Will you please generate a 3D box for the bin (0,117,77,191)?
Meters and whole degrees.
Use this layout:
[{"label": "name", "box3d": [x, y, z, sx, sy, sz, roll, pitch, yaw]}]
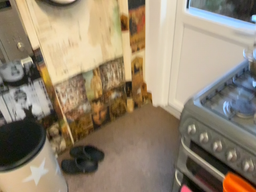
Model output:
[{"label": "bin", "box3d": [-0.600, 0.500, 1.340, 0.340, 0.560, 0.320, -32, 47, -31]}]
